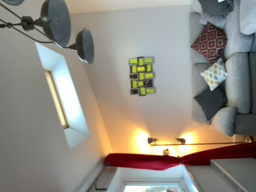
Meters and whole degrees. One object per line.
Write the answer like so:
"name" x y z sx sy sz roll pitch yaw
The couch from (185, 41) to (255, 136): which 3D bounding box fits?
"couch" 1.430 -0.080 3.240 1.070 0.840 1.180 19 -111 -84
